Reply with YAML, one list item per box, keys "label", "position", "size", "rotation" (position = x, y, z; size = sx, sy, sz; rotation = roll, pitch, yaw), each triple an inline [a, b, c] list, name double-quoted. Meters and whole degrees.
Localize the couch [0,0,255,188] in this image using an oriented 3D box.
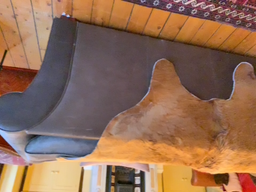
- label: "couch"
  position: [0.440, 0.230, 1.810]
  size: [2.510, 0.900, 1.090]
  rotation: [8, 153, -14]
